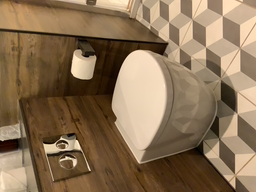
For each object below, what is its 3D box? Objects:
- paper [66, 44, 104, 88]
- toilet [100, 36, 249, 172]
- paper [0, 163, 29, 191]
[{"bbox_3d":[-0.220,-0.150,1.050,0.170,0.110,0.140,55,137,38],"label":"paper"},{"bbox_3d":[0.190,0.020,1.060,0.380,0.450,0.470,52,134,40],"label":"toilet"},{"bbox_3d":[-0.550,0.410,1.030,0.090,0.110,0.120,57,137,36],"label":"paper"}]
